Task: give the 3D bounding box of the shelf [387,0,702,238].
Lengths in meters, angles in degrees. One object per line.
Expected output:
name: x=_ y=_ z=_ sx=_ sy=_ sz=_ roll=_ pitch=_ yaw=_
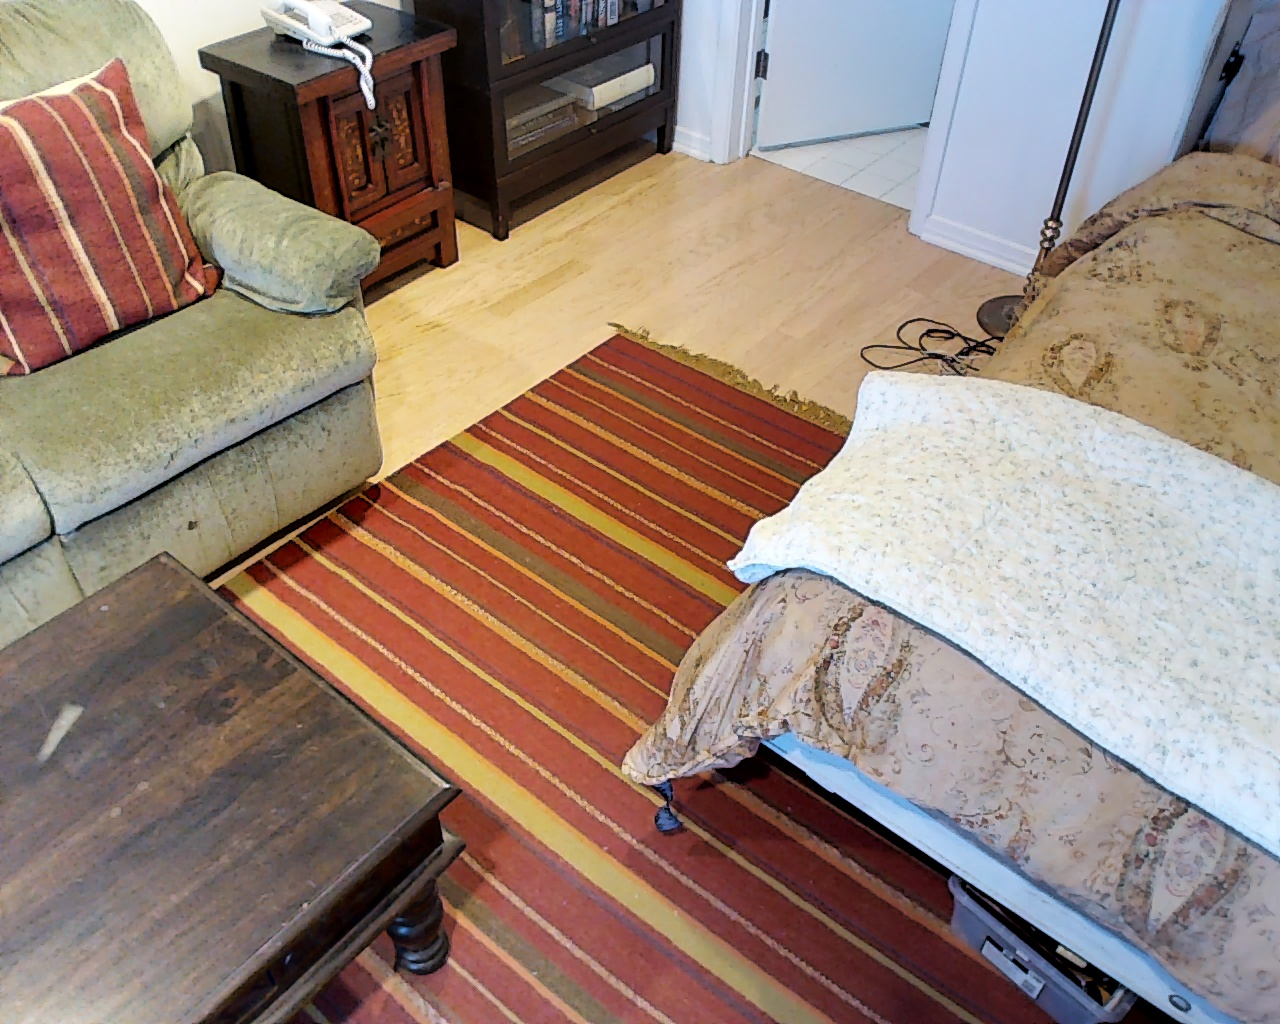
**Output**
shelf: x=-0.270 y=-1.640 z=3.340 sx=0.430 sy=1.210 sz=0.950 roll=32 pitch=50 yaw=29
